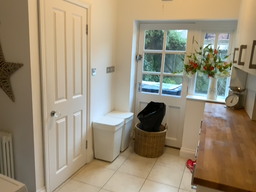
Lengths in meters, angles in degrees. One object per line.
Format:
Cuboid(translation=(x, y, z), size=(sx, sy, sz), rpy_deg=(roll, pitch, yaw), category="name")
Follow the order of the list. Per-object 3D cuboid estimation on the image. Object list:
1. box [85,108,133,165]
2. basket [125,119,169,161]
Cuboid(translation=(-0.260, 0.560, 3.170), size=(0.390, 0.540, 0.780), rpy_deg=(8, 13, 21), category="box")
Cuboid(translation=(0.300, 0.650, 3.280), size=(0.520, 0.380, 0.510), rpy_deg=(8, 13, 23), category="basket")
